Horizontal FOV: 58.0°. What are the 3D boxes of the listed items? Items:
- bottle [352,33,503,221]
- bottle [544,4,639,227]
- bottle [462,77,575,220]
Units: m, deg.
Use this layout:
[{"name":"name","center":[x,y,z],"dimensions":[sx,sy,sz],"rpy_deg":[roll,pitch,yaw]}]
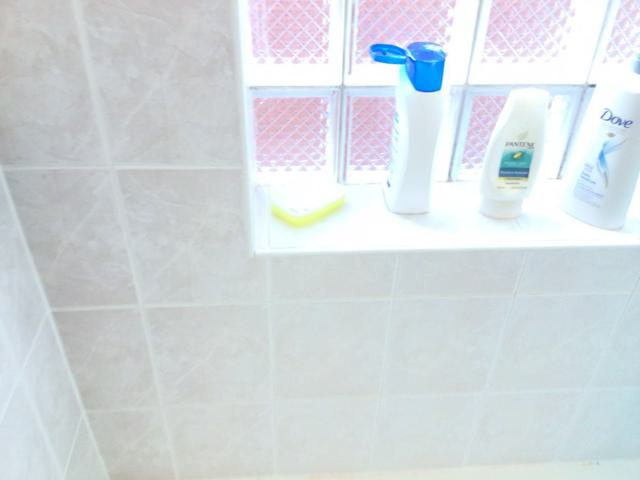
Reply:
[{"name":"bottle","center":[0.150,-0.170,0.890],"dimensions":[0.170,0.250,0.130],"rpy_deg":[0,36,-5]},{"name":"bottle","center":[0.460,-0.180,0.870],"dimensions":[0.120,0.300,0.130],"rpy_deg":[0,36,-5]},{"name":"bottle","center":[0.300,-0.140,0.900],"dimensions":[0.100,0.200,0.090],"rpy_deg":[0,36,-5]}]
